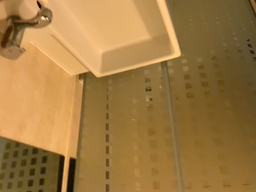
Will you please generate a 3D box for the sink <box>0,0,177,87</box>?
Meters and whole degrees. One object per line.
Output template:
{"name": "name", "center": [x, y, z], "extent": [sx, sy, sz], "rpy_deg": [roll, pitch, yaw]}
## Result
{"name": "sink", "center": [-0.150, -0.250, 0.520], "extent": [0.410, 0.110, 0.620], "rpy_deg": [-12, 151, 19]}
